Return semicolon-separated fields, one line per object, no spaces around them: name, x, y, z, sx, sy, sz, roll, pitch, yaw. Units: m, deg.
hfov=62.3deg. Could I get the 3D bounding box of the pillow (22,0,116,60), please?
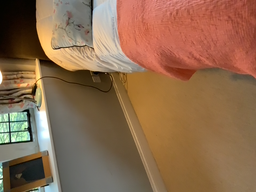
pillow;-0.410;-0.600;1.530;0.520;0.400;0.180;54;158;-23
